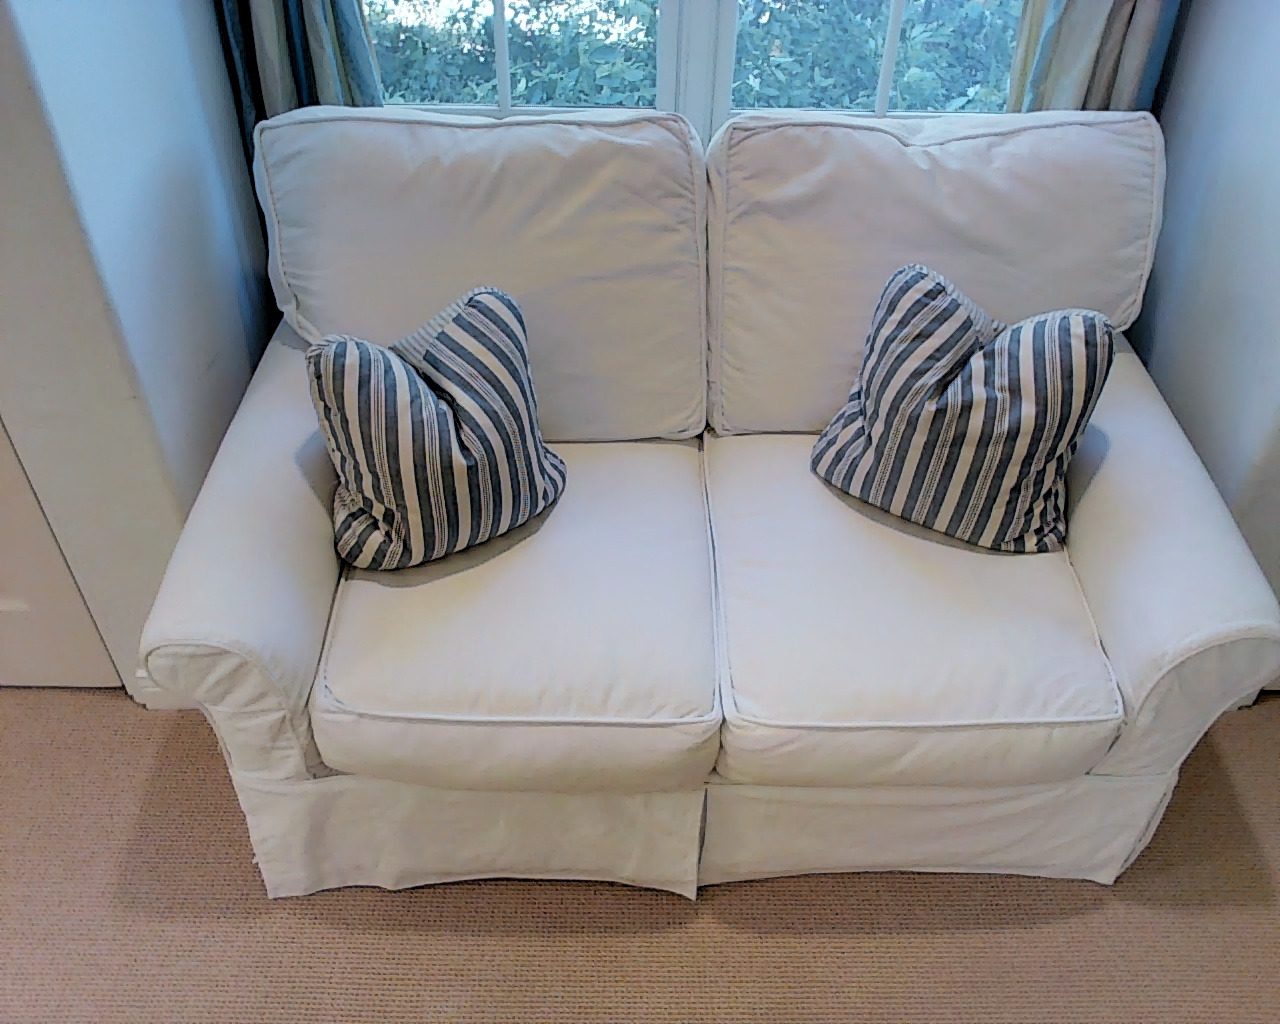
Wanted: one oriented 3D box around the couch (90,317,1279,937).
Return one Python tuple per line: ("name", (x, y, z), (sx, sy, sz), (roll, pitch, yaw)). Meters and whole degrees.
("couch", (0.130, 0.170, 1.790), (1.600, 0.660, 0.720), (-2, 42, -2))
